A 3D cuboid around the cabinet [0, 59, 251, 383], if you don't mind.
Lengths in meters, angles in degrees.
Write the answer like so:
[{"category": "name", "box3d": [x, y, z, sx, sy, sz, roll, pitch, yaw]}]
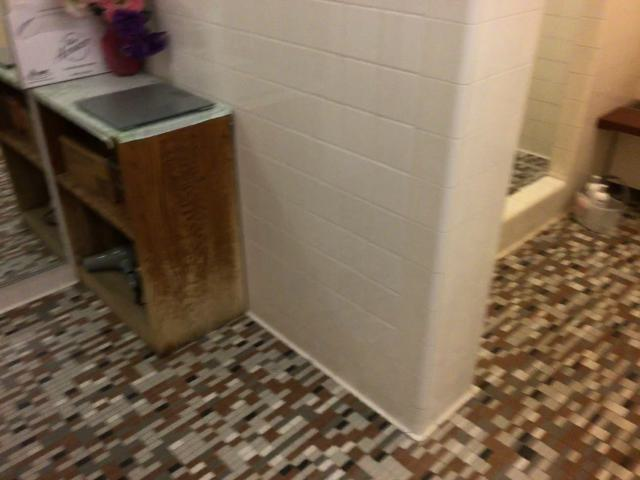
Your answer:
[{"category": "cabinet", "box3d": [-0.630, -0.100, 1.900, 0.480, 0.780, 0.620, -25, 39, -35]}]
